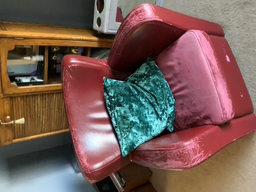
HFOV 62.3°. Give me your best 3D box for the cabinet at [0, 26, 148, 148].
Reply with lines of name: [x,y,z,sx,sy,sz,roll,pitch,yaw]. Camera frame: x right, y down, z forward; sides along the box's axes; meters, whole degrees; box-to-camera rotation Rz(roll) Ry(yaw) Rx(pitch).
cabinet: [-0.510,-0.120,1.880,0.420,1.200,0.800,42,129,44]
